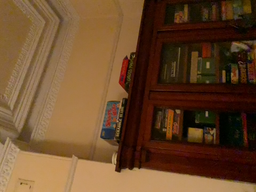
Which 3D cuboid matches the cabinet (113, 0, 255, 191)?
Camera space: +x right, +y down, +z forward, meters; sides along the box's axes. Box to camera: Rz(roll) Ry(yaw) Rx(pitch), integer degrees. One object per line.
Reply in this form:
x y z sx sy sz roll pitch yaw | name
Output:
0.750 -0.200 1.840 0.350 1.400 1.850 59 -143 -62 | cabinet
